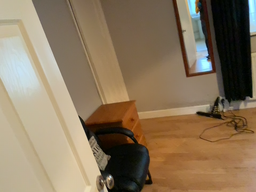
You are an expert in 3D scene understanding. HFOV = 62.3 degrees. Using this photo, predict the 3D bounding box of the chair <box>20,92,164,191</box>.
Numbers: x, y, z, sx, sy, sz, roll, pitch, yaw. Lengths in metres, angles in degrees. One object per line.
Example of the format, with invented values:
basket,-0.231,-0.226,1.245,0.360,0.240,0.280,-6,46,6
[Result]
chair,-0.200,0.550,1.750,0.710,0.880,0.660,-9,20,23
